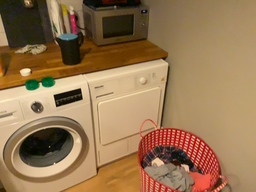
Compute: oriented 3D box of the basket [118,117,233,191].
[{"bbox_3d":[0.250,0.530,1.410,0.450,0.460,0.540,-14,36,-23],"label":"basket"}]
